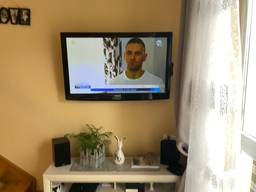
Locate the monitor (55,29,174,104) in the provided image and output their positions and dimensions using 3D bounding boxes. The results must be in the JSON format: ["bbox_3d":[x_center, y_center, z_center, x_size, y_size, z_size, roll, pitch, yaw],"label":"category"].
[{"bbox_3d":[-0.120,-0.300,2.230,1.170,0.730,0.080,-2,15,-1],"label":"monitor"}]
